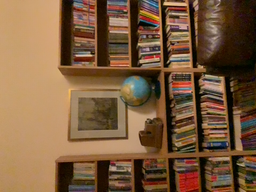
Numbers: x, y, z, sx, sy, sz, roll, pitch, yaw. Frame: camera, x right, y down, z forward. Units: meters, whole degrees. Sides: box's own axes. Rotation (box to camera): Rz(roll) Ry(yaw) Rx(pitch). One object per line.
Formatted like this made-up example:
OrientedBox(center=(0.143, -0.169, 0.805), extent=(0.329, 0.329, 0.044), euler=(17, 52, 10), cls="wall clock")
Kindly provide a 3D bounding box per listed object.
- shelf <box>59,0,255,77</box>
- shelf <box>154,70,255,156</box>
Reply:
OrientedBox(center=(0.320, -0.630, 2.260), extent=(0.310, 1.960, 0.780), euler=(138, 131, -78), cls="shelf")
OrientedBox(center=(0.810, 0.170, 2.230), extent=(0.290, 1.000, 0.820), euler=(138, 131, -78), cls="shelf")
